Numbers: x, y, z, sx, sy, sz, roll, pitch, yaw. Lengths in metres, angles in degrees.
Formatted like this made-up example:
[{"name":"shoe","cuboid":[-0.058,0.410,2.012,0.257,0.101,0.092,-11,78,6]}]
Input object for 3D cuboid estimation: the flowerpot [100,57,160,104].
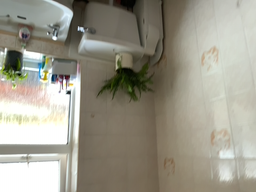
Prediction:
[{"name":"flowerpot","cuboid":[0.000,-0.100,1.650,0.380,0.260,0.290,4,165,-20]}]
